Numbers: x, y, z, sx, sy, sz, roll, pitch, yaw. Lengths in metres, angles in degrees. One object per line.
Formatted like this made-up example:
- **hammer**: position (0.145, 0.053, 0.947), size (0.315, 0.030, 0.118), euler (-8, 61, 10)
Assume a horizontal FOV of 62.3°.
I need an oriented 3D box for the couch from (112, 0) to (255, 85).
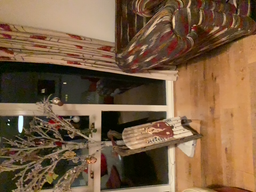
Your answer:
- **couch**: position (0.360, -1.430, 1.880), size (1.190, 0.770, 2.450), euler (155, 115, -72)
